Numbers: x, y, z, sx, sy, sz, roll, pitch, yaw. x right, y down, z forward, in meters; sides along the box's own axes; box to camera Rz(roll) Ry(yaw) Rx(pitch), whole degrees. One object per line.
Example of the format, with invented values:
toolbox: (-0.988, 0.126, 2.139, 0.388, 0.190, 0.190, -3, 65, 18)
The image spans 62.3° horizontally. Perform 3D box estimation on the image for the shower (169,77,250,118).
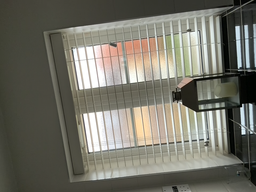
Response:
shower: (0.410, 0.000, 1.110, 0.180, 0.340, 0.160, -82, -15, -85)
